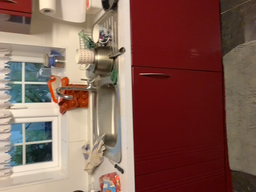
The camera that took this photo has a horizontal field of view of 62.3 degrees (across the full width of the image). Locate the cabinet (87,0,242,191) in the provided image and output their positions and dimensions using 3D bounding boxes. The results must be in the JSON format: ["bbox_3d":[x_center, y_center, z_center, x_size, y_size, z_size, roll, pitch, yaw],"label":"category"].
[{"bbox_3d":[0.240,0.010,1.600,0.630,0.890,1.580,-7,84,62],"label":"cabinet"}]

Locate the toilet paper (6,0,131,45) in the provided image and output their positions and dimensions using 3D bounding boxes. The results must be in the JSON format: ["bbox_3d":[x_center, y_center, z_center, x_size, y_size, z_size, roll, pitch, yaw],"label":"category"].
[{"bbox_3d":[-0.400,-0.630,1.470,0.370,0.760,0.390,0,90,62],"label":"toilet paper"}]
